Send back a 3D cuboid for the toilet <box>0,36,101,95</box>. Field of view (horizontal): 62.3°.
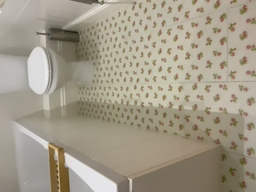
[{"bbox_3d":[-0.740,-0.220,1.750,0.650,0.790,0.360,4,96,51],"label":"toilet"}]
